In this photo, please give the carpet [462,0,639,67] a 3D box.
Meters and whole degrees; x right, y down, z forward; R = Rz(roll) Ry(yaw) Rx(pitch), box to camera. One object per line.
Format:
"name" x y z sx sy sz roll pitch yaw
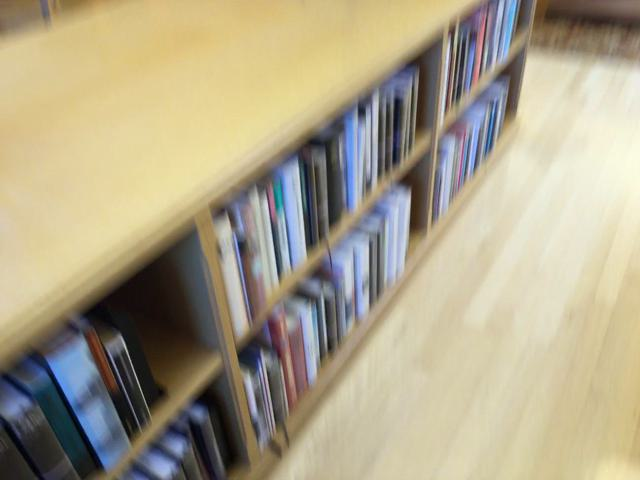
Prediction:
"carpet" 1.570 -1.210 3.080 1.260 0.100 1.150 17 43 26
